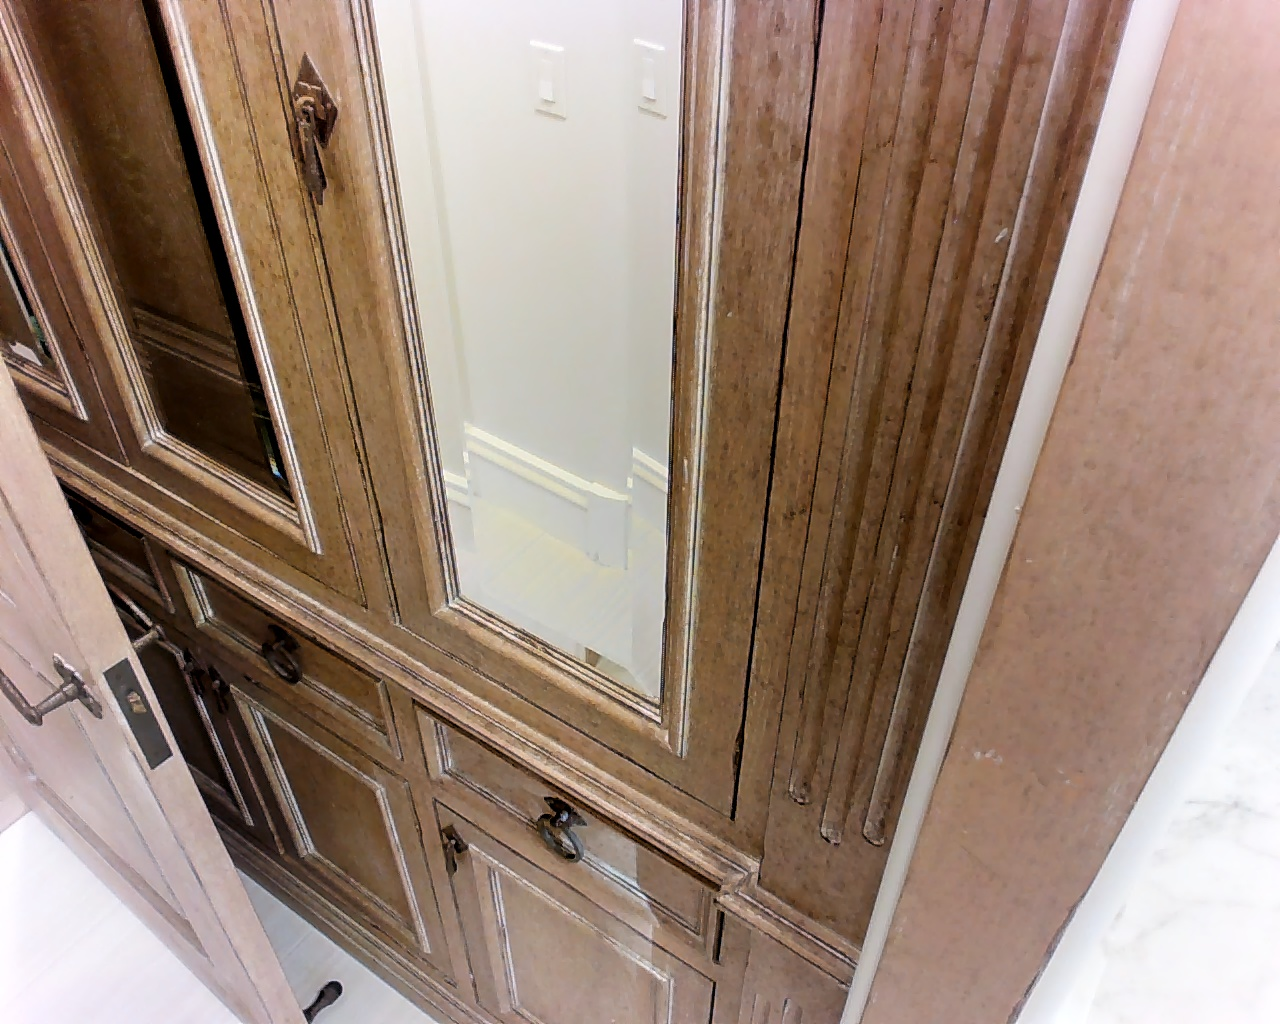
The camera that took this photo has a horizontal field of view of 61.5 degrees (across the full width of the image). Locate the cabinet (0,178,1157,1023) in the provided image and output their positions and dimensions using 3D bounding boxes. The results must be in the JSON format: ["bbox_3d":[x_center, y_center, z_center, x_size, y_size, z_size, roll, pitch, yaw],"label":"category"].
[{"bbox_3d":[-0.160,0.270,1.560,1.280,0.990,0.690,25,47,25],"label":"cabinet"}]
